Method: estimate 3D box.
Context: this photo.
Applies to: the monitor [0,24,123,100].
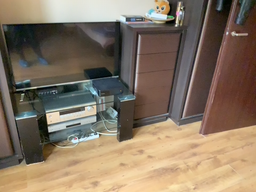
[{"bbox_3d":[-0.530,-0.330,1.940,1.000,0.610,0.080,-10,31,-23],"label":"monitor"}]
